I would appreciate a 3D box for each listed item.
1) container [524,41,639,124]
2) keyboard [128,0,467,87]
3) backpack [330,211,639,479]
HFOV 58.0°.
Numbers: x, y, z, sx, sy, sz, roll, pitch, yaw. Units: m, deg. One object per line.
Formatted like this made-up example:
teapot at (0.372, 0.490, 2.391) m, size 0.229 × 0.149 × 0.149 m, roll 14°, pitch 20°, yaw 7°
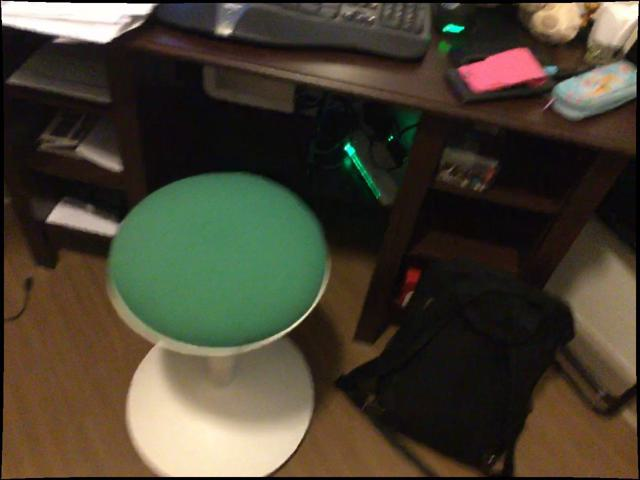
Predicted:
container at (0.439, -0.261, 0.940) m, size 0.210 × 0.040 × 0.080 m, roll -26°, pitch 58°, yaw -25°
keyboard at (-0.020, -0.421, 1.010) m, size 0.529 × 0.060 × 0.300 m, roll 9°, pitch 50°, yaw 0°
backpack at (0.309, 0.261, 1.200) m, size 0.380 × 0.360 × 0.400 m, roll -26°, pitch 58°, yaw -25°
